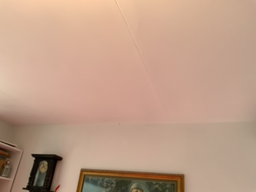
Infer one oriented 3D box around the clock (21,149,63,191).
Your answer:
[{"bbox_3d":[-1.030,0.900,2.550,0.400,0.500,0.090,-6,-30,23],"label":"clock"}]
